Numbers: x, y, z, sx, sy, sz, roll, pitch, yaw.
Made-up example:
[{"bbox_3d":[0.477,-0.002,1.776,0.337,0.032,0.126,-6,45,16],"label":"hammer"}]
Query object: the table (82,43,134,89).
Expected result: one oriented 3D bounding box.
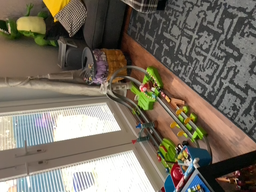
[{"bbox_3d":[-0.240,-0.340,2.390,0.360,0.430,0.360,56,141,42],"label":"table"}]
